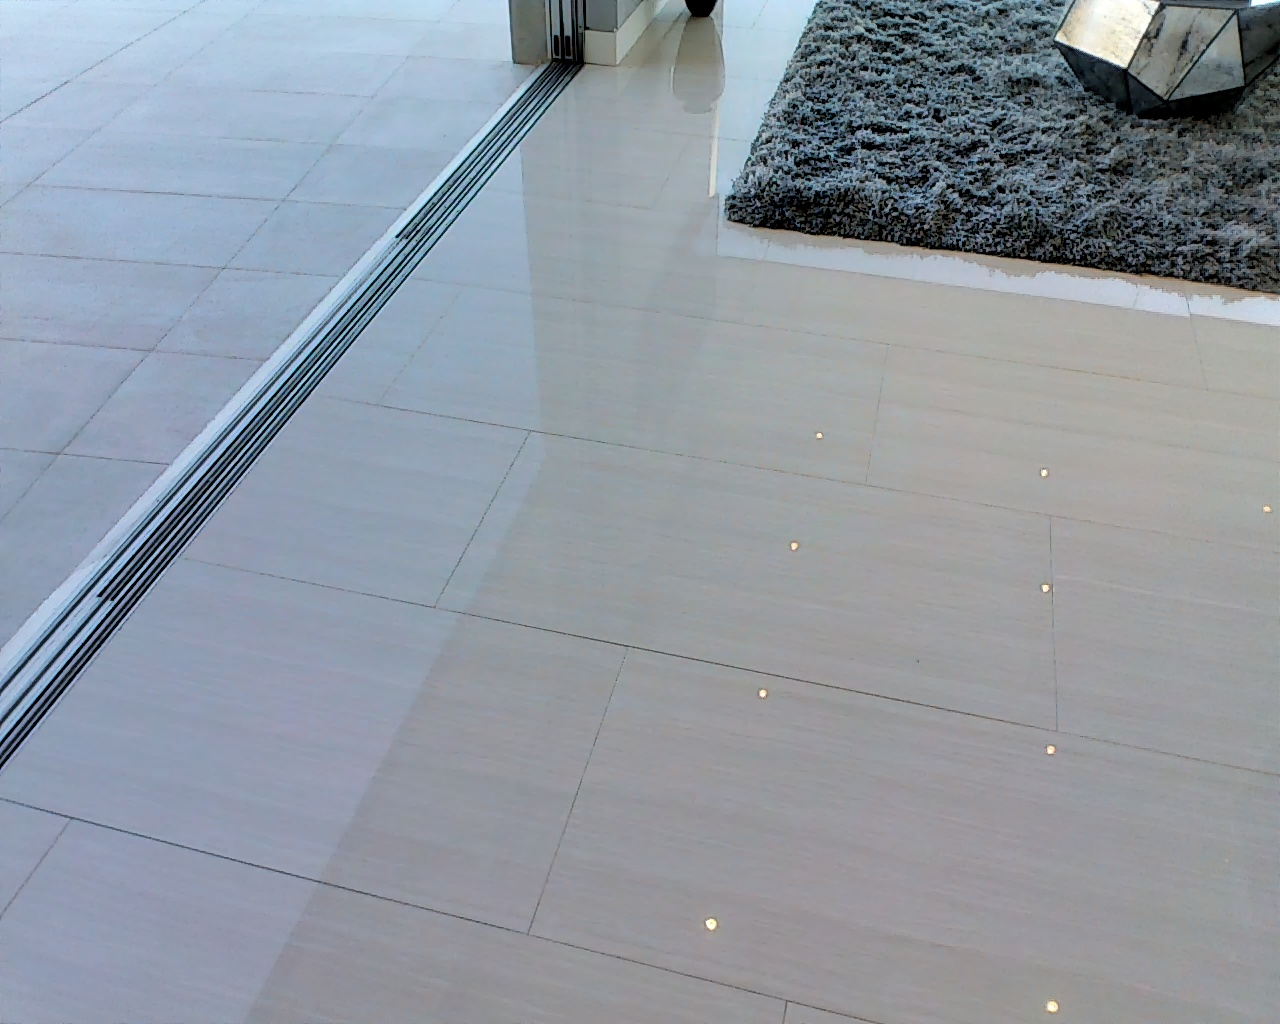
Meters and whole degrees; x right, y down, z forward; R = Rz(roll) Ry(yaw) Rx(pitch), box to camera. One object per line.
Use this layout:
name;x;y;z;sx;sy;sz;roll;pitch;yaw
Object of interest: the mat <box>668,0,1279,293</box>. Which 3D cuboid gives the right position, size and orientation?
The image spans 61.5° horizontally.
mat;2.220;-2.120;4.610;3.280;0.130;4.350;10;43;10
